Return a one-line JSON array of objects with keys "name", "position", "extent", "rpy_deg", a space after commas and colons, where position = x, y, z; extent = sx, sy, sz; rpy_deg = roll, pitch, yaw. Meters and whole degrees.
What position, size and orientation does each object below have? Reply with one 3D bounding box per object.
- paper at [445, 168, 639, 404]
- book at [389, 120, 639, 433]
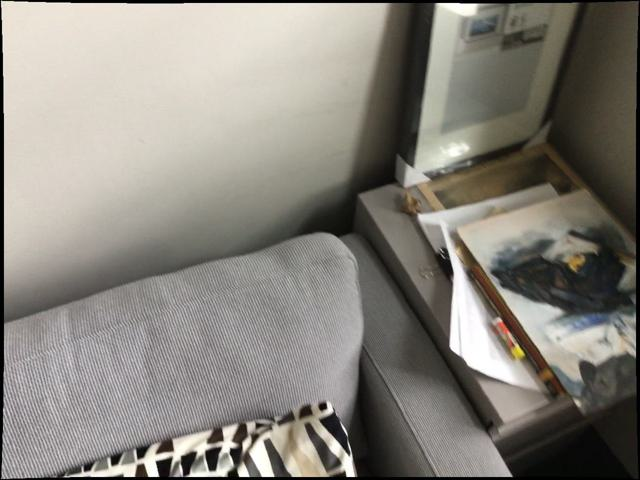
[{"name": "paper", "position": [0.359, 0.060, 0.950], "extent": [0.279, 0.080, 0.361], "rpy_deg": [8, 56, 5]}, {"name": "book", "position": [0.389, 0.020, 0.980], "extent": [0.349, 0.030, 0.500], "rpy_deg": [-20, 58, -14]}]
